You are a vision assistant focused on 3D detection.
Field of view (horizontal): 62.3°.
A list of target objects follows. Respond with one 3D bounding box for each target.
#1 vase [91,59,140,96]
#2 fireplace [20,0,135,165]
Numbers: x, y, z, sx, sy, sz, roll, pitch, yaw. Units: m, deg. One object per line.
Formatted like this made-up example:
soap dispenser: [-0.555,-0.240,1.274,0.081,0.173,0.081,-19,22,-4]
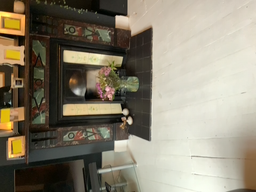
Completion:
vase: [-0.150,-0.190,2.480,0.340,0.470,0.370,-6,85,59]
fireplace: [-0.570,-0.150,2.470,0.520,1.200,1.570,2,92,59]
